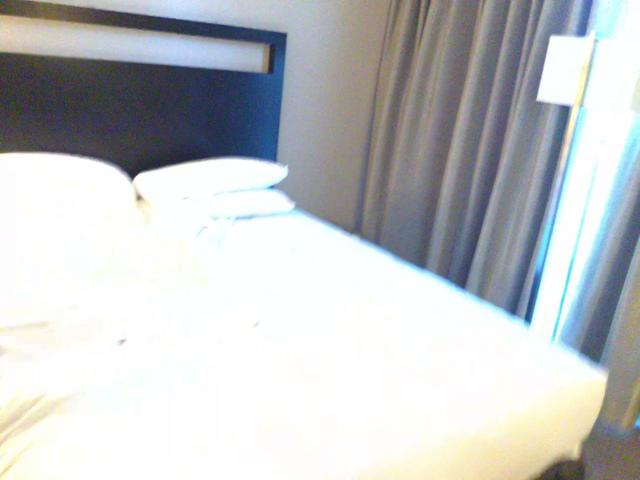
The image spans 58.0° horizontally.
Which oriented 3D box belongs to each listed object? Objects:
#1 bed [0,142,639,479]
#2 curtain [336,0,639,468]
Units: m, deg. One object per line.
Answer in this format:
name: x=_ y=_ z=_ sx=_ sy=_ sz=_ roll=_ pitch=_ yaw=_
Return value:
bed: x=-0.380 y=0.320 z=1.970 sx=1.550 sy=0.950 sz=2.130 roll=-5 pitch=20 yaw=-35
curtain: x=1.140 y=-0.130 z=2.370 sx=0.360 sy=1.710 sz=2.820 roll=-5 pitch=20 yaw=-35
